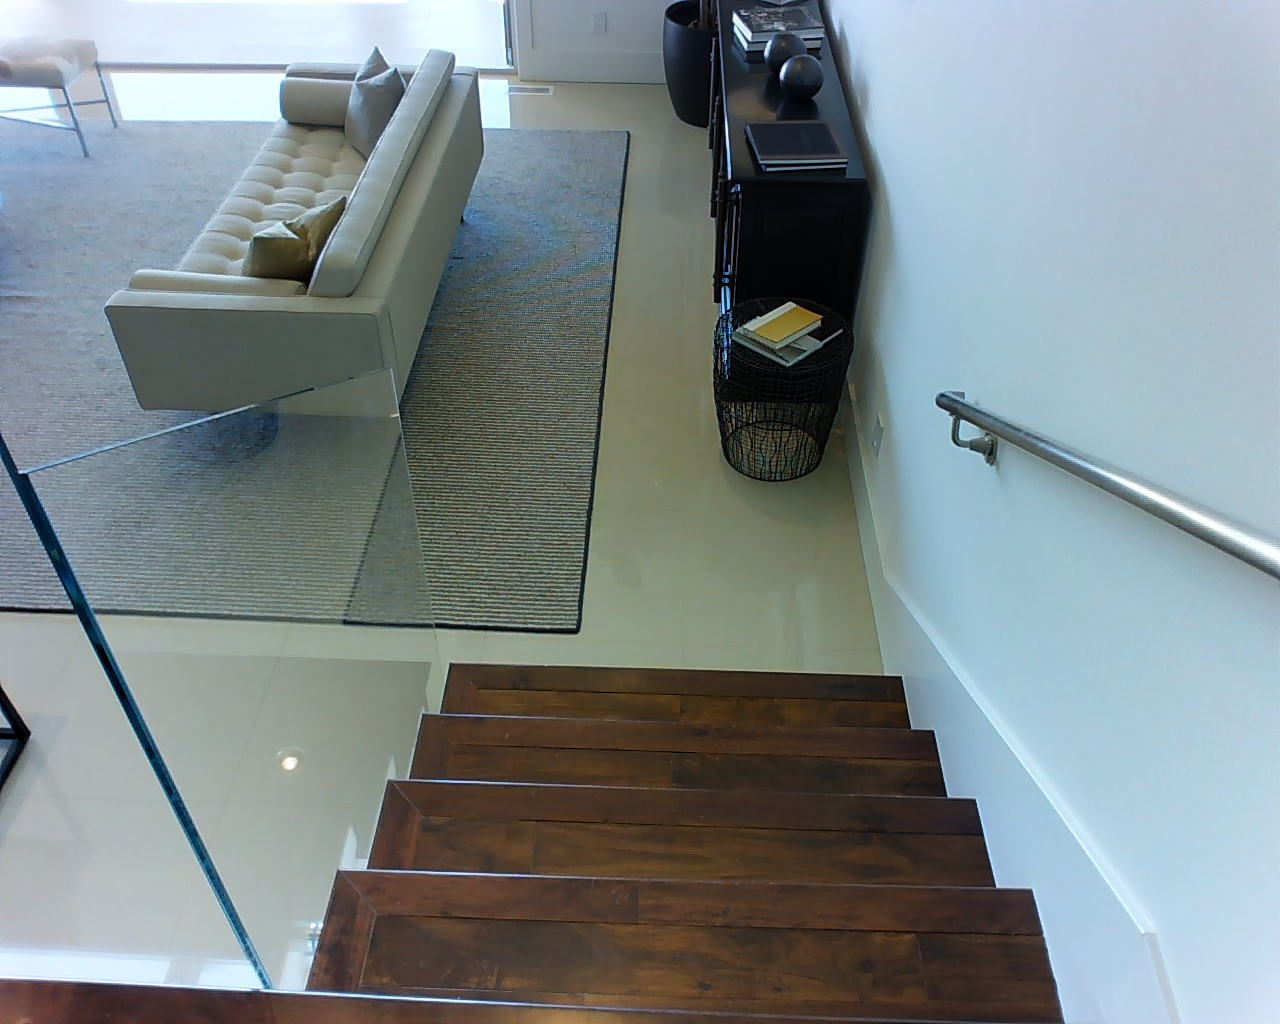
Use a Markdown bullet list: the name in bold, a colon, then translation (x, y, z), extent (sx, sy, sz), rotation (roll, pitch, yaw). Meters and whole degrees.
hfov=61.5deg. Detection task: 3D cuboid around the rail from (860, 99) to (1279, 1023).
- **rail**: translation (0.660, 0.320, 1.900), extent (0.140, 1.540, 1.460), rotation (1, 42, 1)
